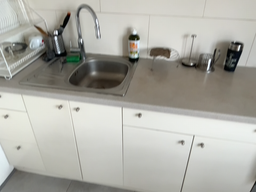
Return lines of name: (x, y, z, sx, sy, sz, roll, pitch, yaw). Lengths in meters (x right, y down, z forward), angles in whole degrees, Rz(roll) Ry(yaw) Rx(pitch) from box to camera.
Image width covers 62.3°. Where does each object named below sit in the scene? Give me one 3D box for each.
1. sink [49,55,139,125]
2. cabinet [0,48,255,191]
sink: (-0.180, -0.070, 1.390, 0.430, 0.200, 0.490, 6, 33, 8)
cabinet: (-0.070, 0.230, 1.540, 1.730, 0.860, 0.570, 6, 33, 8)
